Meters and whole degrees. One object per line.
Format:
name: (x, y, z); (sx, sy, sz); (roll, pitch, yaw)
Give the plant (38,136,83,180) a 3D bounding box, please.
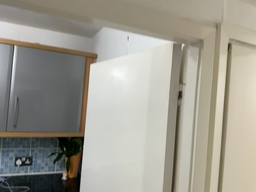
plant: (-0.670, 0.600, 2.110); (0.380, 0.370, 0.180); (5, -1, -25)
